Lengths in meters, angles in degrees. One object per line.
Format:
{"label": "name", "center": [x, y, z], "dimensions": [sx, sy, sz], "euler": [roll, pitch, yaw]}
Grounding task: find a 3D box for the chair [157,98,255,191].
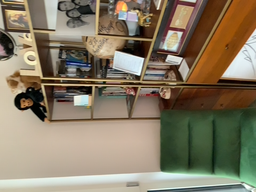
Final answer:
{"label": "chair", "center": [0.760, 0.330, 1.410], "dimensions": [0.800, 0.920, 0.550], "euler": [157, 114, -78]}
